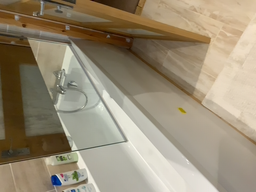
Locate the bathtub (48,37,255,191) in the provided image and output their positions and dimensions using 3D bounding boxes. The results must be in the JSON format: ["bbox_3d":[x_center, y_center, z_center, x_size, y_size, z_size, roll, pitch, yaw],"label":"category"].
[{"bbox_3d":[0.110,0.310,1.350,1.670,0.590,0.710,44,123,40],"label":"bathtub"}]
